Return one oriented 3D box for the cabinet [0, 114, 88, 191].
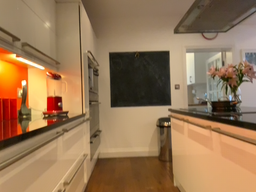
[{"bbox_3d":[-0.790,0.610,0.890,0.840,0.850,2.800,-2,-1,-3],"label":"cabinet"}]
